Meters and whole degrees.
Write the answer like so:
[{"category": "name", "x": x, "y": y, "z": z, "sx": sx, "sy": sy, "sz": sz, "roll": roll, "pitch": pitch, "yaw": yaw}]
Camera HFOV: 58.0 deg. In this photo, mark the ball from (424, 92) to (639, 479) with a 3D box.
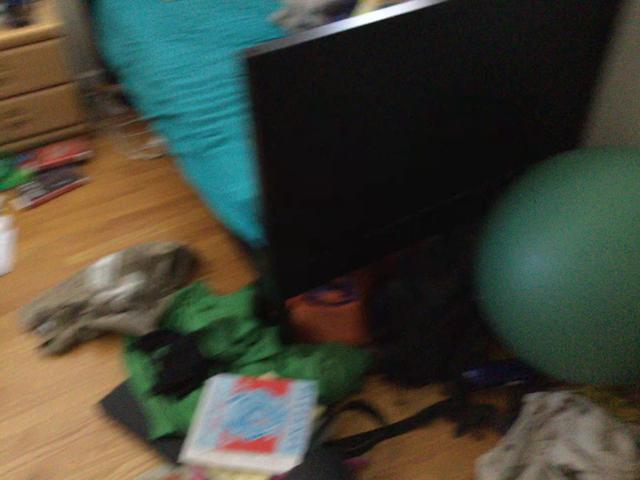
[{"category": "ball", "x": 0.670, "y": 0.080, "z": 1.420, "sx": 0.510, "sy": 0.580, "sz": 0.600, "roll": -20, "pitch": 43, "yaw": -20}]
